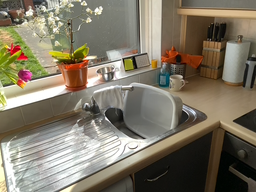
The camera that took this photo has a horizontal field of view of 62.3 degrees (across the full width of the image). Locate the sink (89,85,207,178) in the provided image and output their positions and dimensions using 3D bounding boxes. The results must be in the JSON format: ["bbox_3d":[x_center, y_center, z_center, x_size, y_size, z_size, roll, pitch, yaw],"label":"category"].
[{"bbox_3d":[0.090,0.150,1.250,0.450,0.180,0.520,-18,29,-27],"label":"sink"}]
